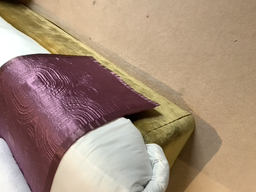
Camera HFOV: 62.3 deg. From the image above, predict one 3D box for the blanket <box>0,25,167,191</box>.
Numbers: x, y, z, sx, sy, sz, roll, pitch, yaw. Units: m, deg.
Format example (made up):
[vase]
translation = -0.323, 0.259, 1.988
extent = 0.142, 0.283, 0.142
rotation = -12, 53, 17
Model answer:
[blanket]
translation = -0.460, 0.560, 1.030
extent = 0.460, 0.410, 1.640
rotation = 39, 118, 27
